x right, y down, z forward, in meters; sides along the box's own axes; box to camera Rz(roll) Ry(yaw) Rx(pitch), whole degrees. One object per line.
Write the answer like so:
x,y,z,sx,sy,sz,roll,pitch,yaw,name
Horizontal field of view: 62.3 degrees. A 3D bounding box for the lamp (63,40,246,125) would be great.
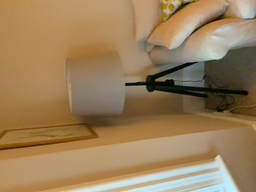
0.240,-0.150,1.880,0.550,1.500,0.550,-166,73,-68,lamp
